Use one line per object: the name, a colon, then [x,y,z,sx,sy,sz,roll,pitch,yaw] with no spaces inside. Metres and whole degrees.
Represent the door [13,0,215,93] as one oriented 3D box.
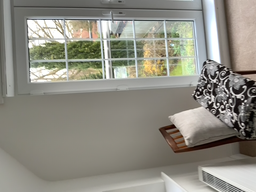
door: [-0.060,-0.800,2.190,0.050,2.030,1.430,177,90,-77]
